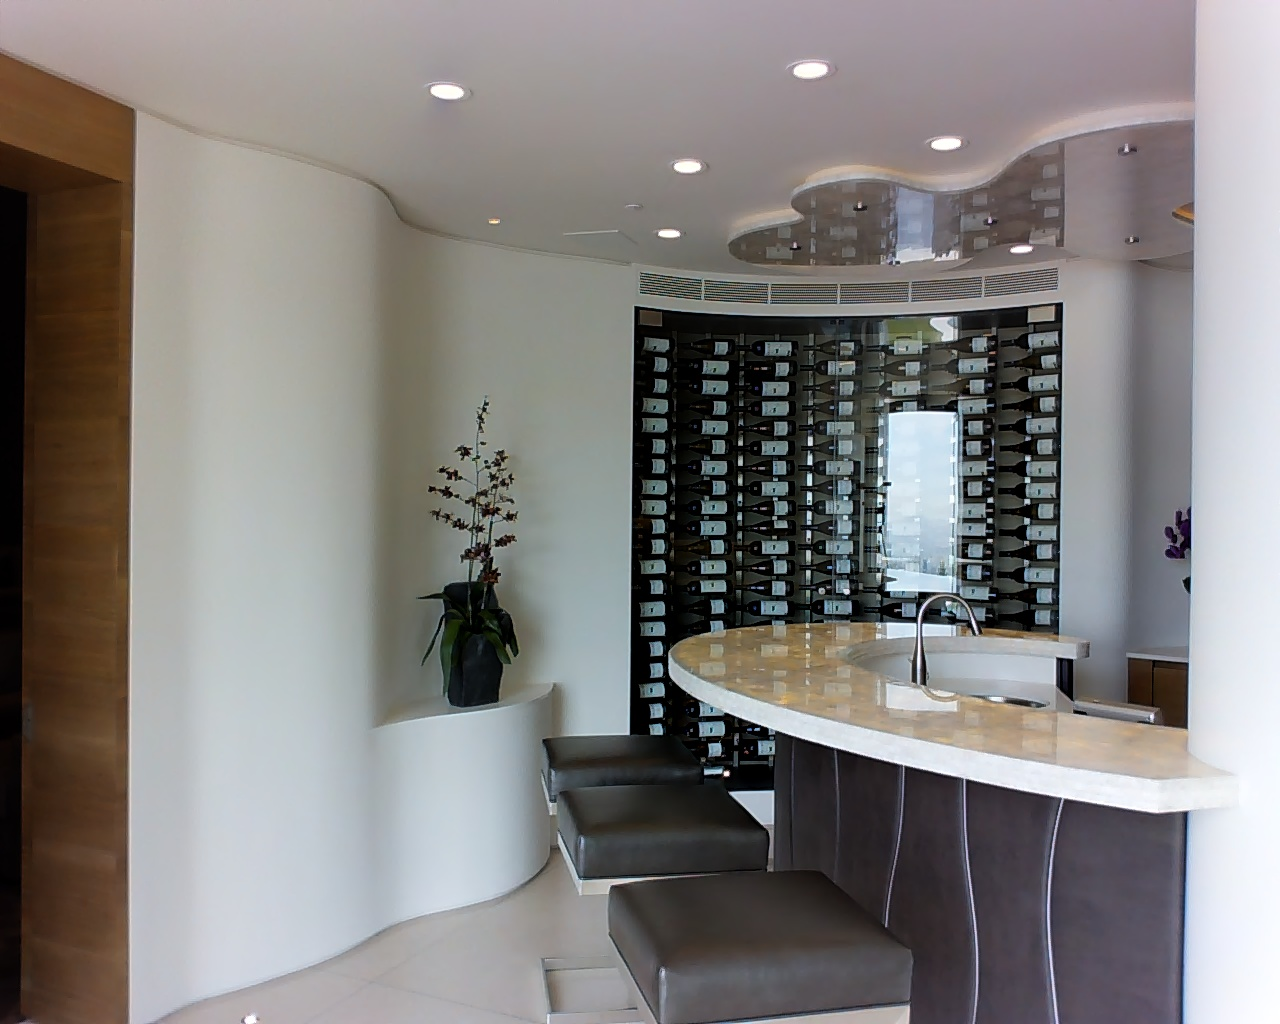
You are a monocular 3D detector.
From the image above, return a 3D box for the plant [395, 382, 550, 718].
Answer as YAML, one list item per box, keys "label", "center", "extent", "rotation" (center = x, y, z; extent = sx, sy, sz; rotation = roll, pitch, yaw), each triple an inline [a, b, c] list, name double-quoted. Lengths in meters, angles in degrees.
- label: "plant"
  center: [-0.670, 0.140, 4.300]
  extent: [0.450, 1.250, 0.400]
  rotation: [1, 0, 38]

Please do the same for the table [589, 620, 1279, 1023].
- label: "table"
  center: [0.620, 0.980, 3.000]
  extent: [1.050, 1.100, 2.380]
  rotation: [1, 0, -14]
